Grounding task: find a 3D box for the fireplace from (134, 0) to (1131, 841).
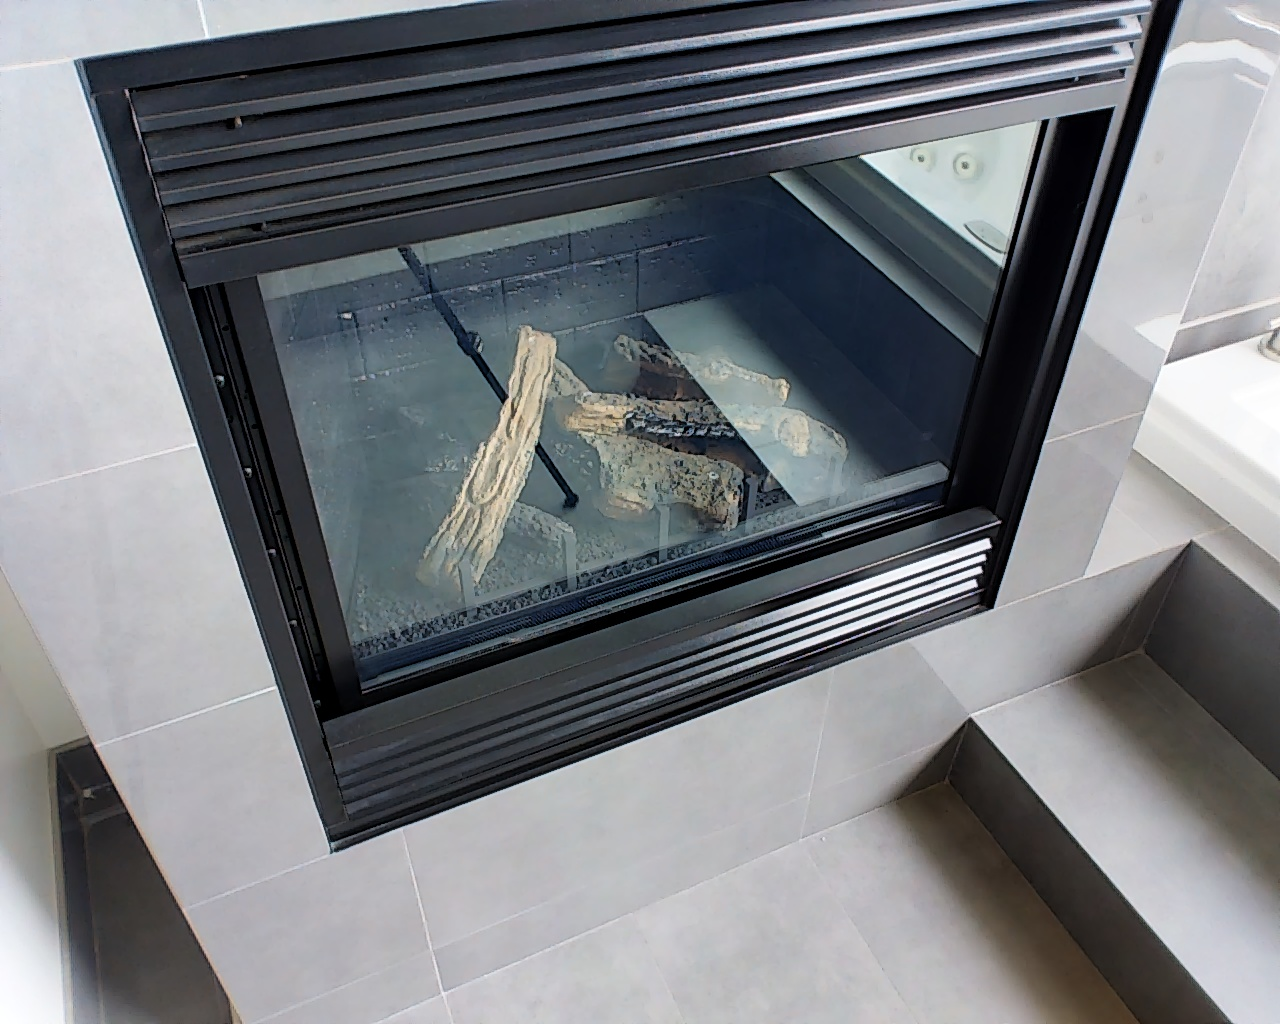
[{"bbox_3d":[-0.010,-0.150,1.260,0.830,0.860,0.370,-16,44,-18],"label":"fireplace"}]
